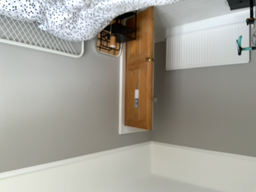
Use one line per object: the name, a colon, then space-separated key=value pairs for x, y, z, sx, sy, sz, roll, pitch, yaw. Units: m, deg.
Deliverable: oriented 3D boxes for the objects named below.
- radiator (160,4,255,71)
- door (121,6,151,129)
radiator: x=1.430 y=-1.020 z=3.990 sx=1.790 sy=0.950 sz=0.110 roll=0 pitch=178 yaw=37
door: x=0.120 y=-0.460 z=3.780 sx=0.070 sy=1.970 sz=0.830 roll=2 pitch=178 yaw=-31
